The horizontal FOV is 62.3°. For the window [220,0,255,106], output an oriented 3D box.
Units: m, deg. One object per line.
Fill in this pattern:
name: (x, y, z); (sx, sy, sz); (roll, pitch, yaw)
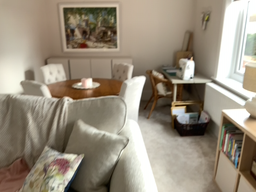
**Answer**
window: (1.670, -0.600, 2.570); (0.450, 1.270, 1.040); (0, 18, -2)

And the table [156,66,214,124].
table: (0.970, -0.090, 3.960); (0.640, 0.730, 1.310); (0, 18, -2)
